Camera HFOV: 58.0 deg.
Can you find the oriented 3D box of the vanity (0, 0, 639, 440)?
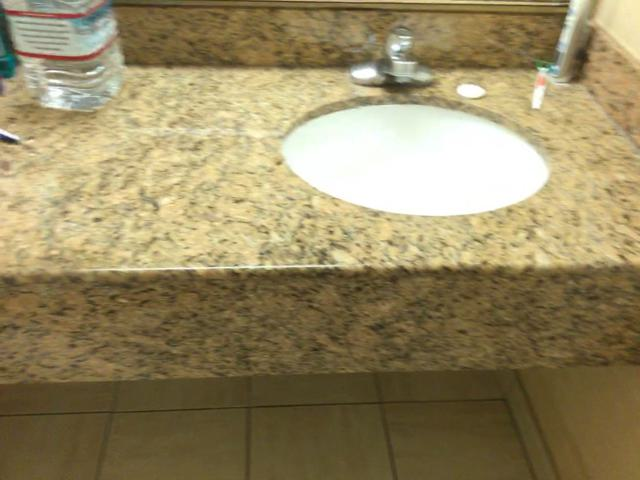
[{"bbox_3d":[-0.220,-0.080,0.910,1.480,0.420,0.590,-1,39,-6],"label":"vanity"}]
